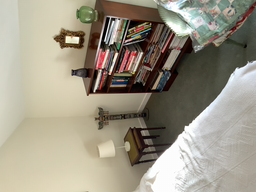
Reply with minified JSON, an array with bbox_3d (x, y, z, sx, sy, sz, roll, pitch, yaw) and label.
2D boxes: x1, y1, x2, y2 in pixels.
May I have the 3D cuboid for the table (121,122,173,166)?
[{"bbox_3d":[0.230,0.610,2.760,0.330,0.500,0.400,114,146,-44],"label":"table"}]

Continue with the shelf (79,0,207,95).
[{"bbox_3d":[0.100,-0.460,2.280,0.930,1.070,0.350,113,147,-43],"label":"shelf"}]

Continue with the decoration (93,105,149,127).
[{"bbox_3d":[-0.100,0.290,3.170,0.190,0.790,0.250,142,124,-61],"label":"decoration"}]
